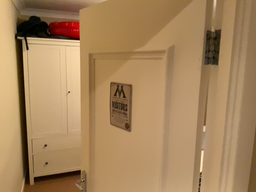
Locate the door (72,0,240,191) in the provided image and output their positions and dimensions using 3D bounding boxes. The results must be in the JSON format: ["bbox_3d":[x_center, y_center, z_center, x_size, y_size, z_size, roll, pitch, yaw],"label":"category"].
[{"bbox_3d":[-0.020,0.660,1.150,0.150,2.130,0.900,-7,13,-39],"label":"door"}]
